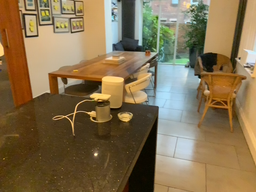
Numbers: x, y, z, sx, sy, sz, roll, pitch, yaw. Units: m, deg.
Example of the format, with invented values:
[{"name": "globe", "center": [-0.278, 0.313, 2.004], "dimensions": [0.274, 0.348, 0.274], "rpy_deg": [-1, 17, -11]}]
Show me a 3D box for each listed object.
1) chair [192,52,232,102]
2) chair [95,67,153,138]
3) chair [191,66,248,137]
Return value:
[{"name": "chair", "center": [1.570, -0.390, 4.070], "dimensions": [0.550, 0.790, 0.620], "rpy_deg": [6, 21, 13]}, {"name": "chair", "center": [-0.030, 0.050, 2.870], "dimensions": [0.610, 0.750, 0.540], "rpy_deg": [7, 21, 16]}, {"name": "chair", "center": [1.240, 0.040, 2.940], "dimensions": [0.560, 0.760, 0.580], "rpy_deg": [9, 22, 21]}]
